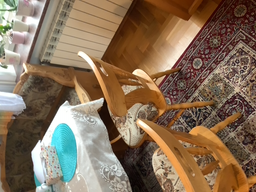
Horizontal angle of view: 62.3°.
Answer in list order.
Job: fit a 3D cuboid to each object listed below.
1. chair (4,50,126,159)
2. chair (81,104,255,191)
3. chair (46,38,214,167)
[{"bbox_3d":[-0.660,0.100,2.150,0.810,0.830,0.560,-53,53,31],"label":"chair"},{"bbox_3d":[0.330,0.370,1.060,0.500,0.890,0.430,-53,53,31],"label":"chair"},{"bbox_3d":[0.040,0.050,1.380,0.500,0.890,0.430,-53,53,31],"label":"chair"}]
